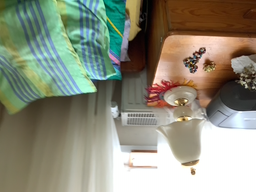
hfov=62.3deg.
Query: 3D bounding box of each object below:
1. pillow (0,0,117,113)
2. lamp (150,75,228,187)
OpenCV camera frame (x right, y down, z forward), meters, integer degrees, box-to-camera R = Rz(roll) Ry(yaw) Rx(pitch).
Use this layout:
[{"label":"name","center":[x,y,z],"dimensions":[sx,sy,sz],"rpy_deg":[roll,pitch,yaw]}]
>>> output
[{"label":"pillow","center":[-0.380,-0.130,0.810],"dimensions":[0.670,0.220,0.390],"rpy_deg":[1,149,-2]},{"label":"lamp","center":[0.180,0.130,0.740],"dimensions":[0.160,0.310,0.250],"rpy_deg":[1,149,-1]}]
